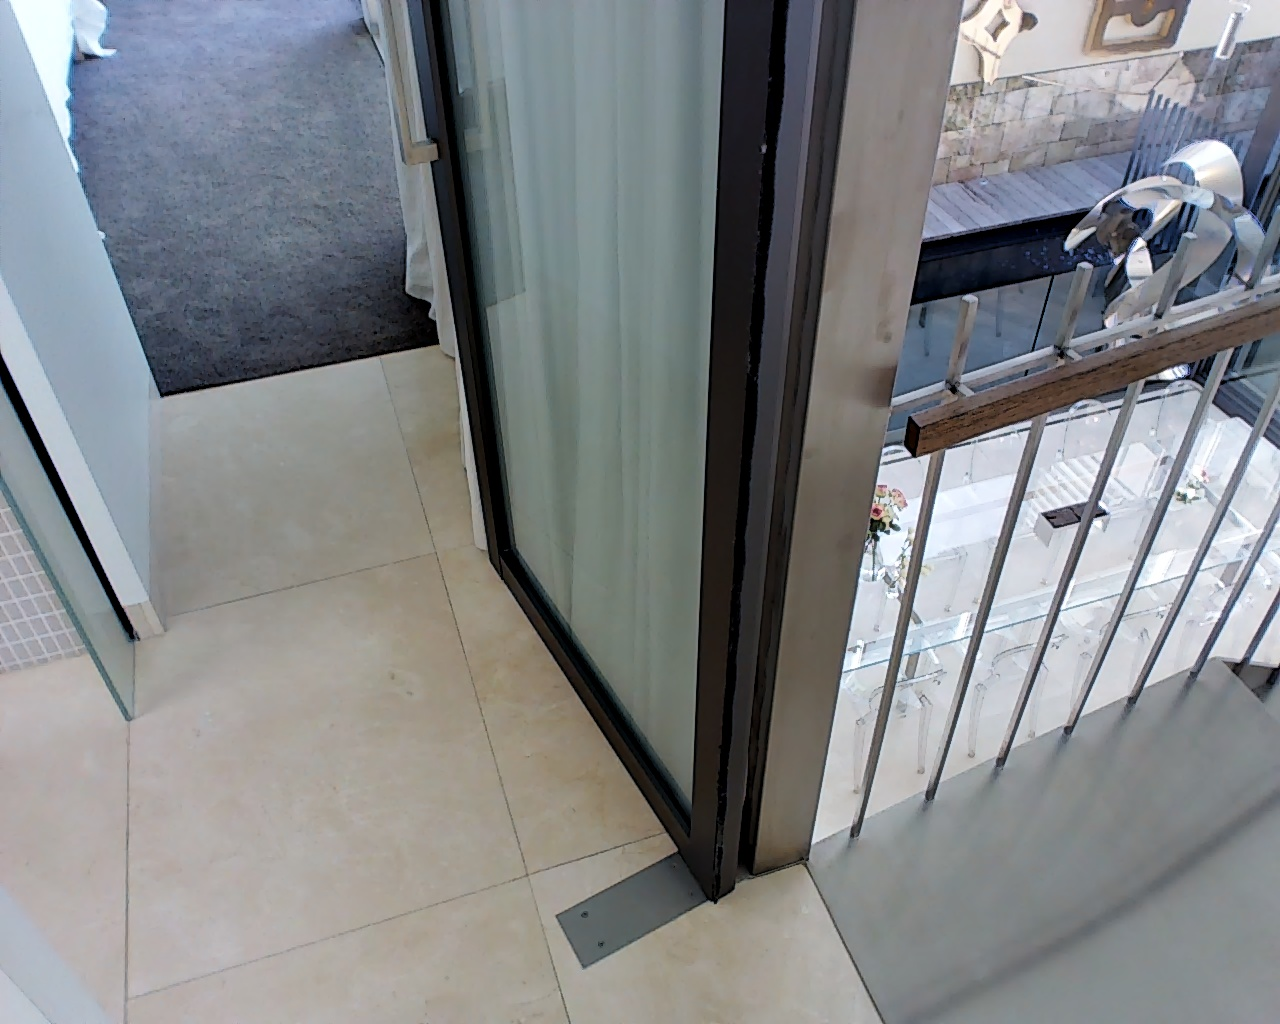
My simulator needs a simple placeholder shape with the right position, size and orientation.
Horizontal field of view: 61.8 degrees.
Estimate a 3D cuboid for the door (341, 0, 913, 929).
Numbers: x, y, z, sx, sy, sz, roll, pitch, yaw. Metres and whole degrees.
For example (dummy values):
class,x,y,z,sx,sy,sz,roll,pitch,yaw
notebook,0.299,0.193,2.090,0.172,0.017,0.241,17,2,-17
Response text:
class,x,y,z,sx,sy,sz,roll,pitch,yaw
door,-0.120,-0.640,1.140,0.120,2.590,1.050,-23,46,-23
